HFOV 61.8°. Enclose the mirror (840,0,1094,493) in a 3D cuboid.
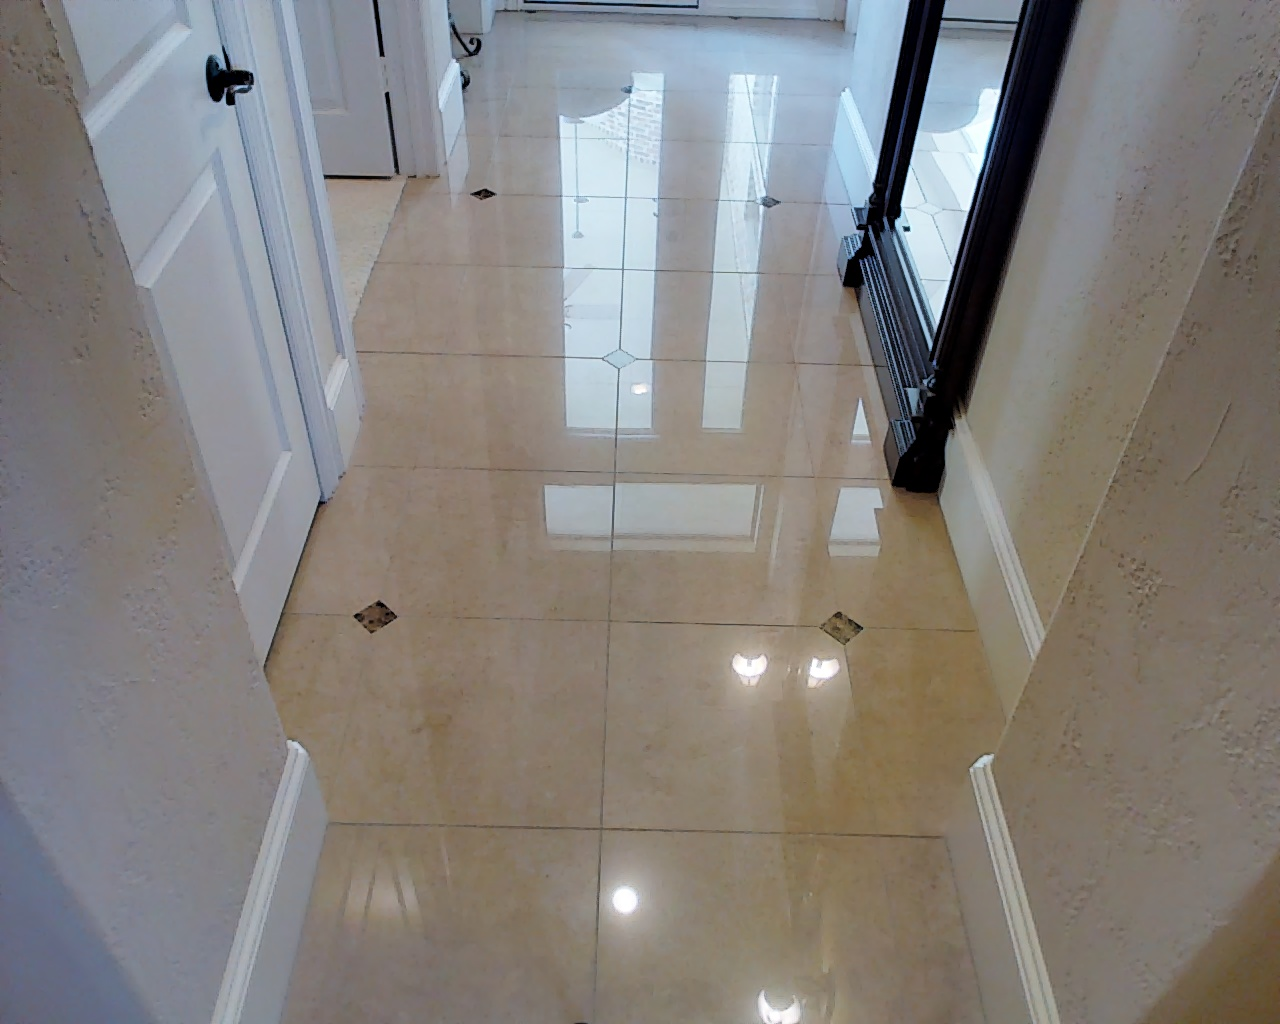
[{"bbox_3d":[0.670,-1.150,2.090,0.130,2.080,1.000,2,42,0],"label":"mirror"}]
